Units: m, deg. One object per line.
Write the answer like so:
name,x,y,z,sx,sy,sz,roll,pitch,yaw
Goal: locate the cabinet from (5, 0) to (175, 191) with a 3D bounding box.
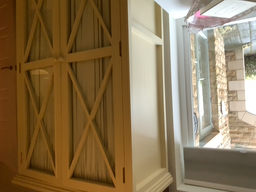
cabinet,-0.300,-0.370,1.560,1.020,1.980,0.610,-3,179,31
